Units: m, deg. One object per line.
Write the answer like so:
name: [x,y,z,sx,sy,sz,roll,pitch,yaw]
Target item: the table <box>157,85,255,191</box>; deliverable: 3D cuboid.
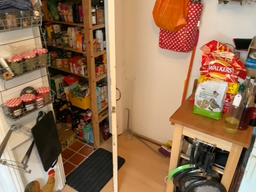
table: [0.660,0.460,1.800,0.530,0.820,0.670,17,32,28]
